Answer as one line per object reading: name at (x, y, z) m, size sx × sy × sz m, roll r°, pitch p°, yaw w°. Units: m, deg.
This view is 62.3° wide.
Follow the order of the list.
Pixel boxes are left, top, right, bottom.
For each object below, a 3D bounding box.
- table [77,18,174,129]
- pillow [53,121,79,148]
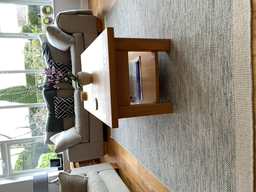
table at (-0.130, -0.170, 1.900) m, size 1.230 × 0.460 × 0.650 m, roll -172°, pitch 79°, yaw -70°
pillow at (-1.040, 0.610, 3.510) m, size 0.710 × 0.350 × 0.250 m, roll -169°, pitch 76°, yaw -69°
